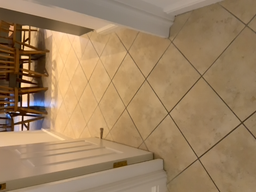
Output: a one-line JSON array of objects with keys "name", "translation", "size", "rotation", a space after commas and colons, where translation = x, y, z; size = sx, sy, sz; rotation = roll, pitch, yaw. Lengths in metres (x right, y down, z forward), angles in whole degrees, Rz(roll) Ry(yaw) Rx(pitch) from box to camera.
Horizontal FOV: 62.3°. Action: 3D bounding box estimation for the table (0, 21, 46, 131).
[{"name": "table", "translation": [-1.860, -0.290, 3.460], "size": [0.870, 0.730, 1.530], "rotation": [4, 93, 52]}]
